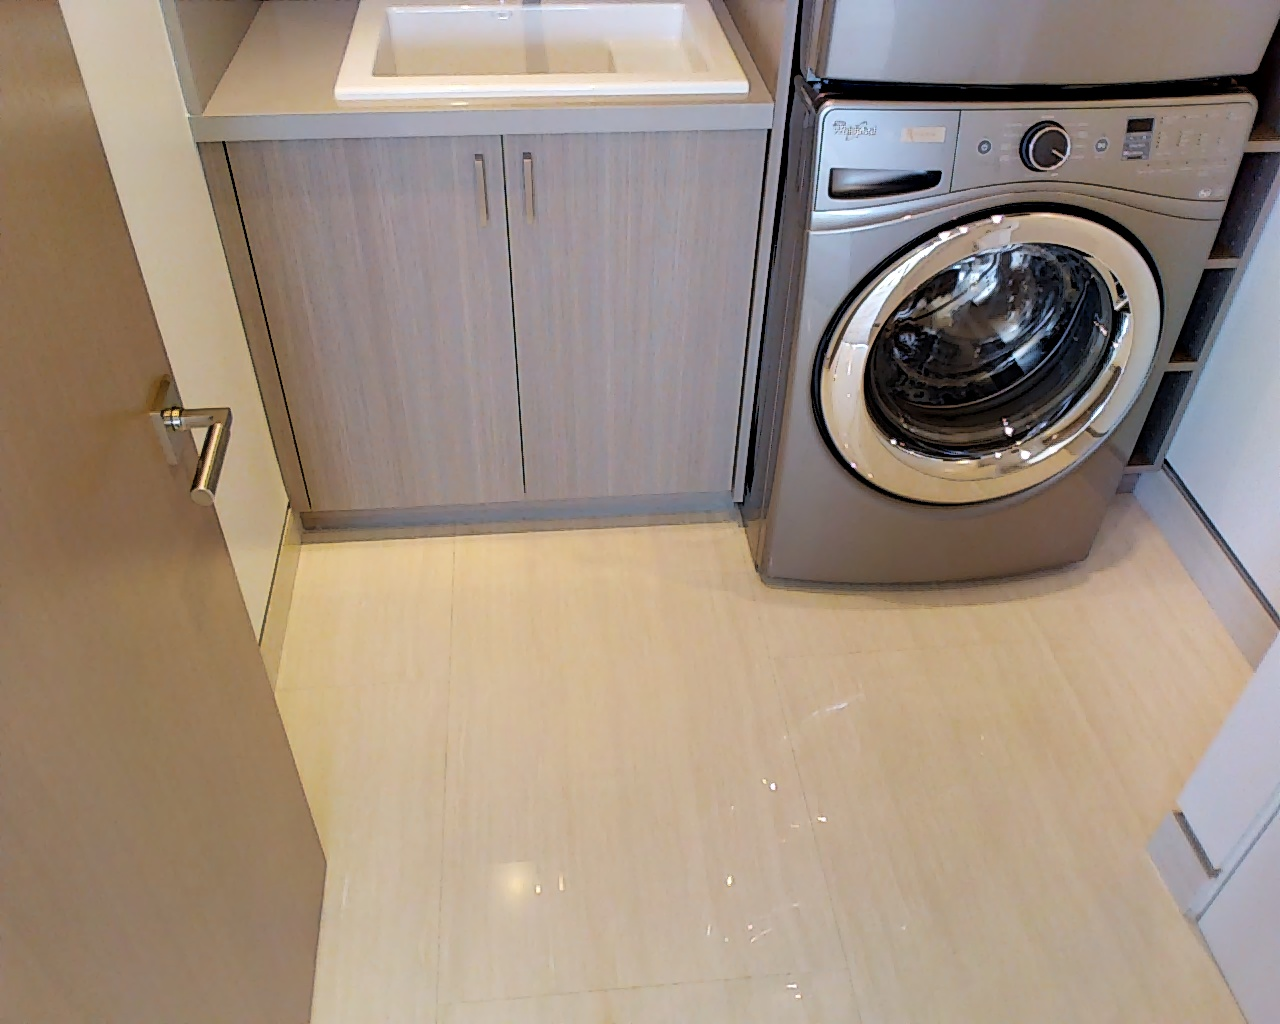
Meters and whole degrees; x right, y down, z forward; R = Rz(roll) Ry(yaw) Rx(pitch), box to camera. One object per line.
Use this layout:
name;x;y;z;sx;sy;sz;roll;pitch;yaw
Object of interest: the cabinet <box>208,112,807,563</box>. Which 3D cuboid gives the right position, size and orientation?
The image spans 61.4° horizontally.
cabinet;-0.210;-0.280;2.020;0.940;0.900;0.070;-3;41;-5
